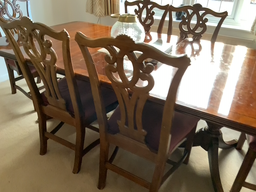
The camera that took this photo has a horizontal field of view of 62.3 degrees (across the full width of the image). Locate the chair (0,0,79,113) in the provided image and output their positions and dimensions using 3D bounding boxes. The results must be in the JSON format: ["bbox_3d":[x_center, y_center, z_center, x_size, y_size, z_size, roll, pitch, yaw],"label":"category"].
[{"bbox_3d":[-0.970,-0.470,2.160,0.590,0.980,0.600,19,34,26],"label":"chair"}]

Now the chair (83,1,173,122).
[{"bbox_3d":[0.000,-0.370,2.080,0.530,0.950,0.590,23,35,31],"label":"chair"}]

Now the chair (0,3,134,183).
[{"bbox_3d":[-0.360,-0.060,1.470,0.530,0.990,0.590,18,33,25],"label":"chair"}]
